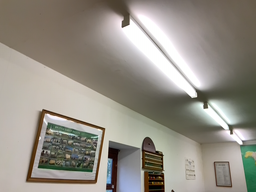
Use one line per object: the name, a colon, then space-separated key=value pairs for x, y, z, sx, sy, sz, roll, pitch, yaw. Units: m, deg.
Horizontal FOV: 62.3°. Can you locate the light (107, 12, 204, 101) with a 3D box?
light: x=0.470 y=-0.310 z=2.510 sx=0.240 sy=0.150 sz=1.900 roll=-13 pitch=-26 yaw=34
